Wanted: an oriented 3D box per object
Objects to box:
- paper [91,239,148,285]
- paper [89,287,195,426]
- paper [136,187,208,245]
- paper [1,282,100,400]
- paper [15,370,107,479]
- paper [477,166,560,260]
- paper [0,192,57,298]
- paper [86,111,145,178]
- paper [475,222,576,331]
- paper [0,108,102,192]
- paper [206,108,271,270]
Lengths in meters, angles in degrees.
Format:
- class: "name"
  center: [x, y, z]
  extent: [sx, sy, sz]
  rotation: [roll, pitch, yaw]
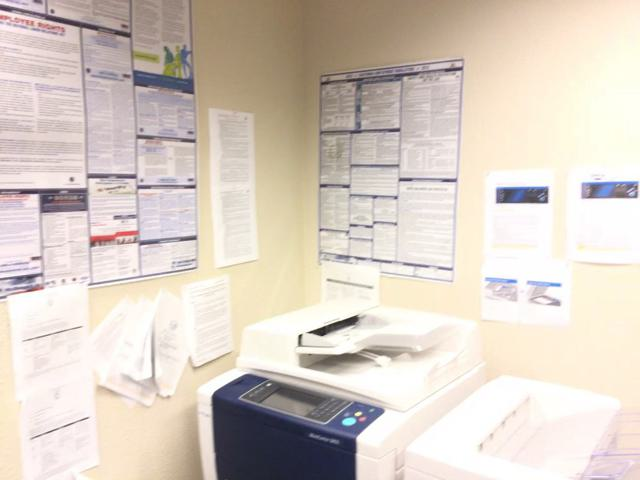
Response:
- class: "paper"
  center: [-0.580, 0.060, 1.680]
  extent: [0.030, 0.110, 0.160]
  rotation: [0, 7, 36]
- class: "paper"
  center: [-0.530, 0.340, 1.760]
  extent: [0.060, 0.340, 0.300]
  rotation: [0, 7, 36]
- class: "paper"
  center: [-0.460, -0.080, 1.820]
  extent: [0.030, 0.160, 0.240]
  rotation: [0, 7, 36]
- class: "paper"
  center: [-0.710, 0.260, 1.540]
  extent: [0.040, 0.260, 0.220]
  rotation: [0, 7, 36]
- class: "paper"
  center: [-0.700, 0.520, 1.580]
  extent: [0.040, 0.270, 0.210]
  rotation: [0, 7, 36]
- class: "paper"
  center: [0.620, -0.080, 1.810]
  extent: [0.230, 0.280, 0.050]
  rotation: [0, 7, 36]
- class: "paper"
  center: [-0.760, 0.010, 1.450]
  extent: [0.030, 0.250, 0.160]
  rotation: [0, 7, 36]
- class: "paper"
  center: [-0.580, -0.270, 1.650]
  extent: [0.020, 0.180, 0.160]
  rotation: [0, 7, 36]
- class: "paper"
  center: [0.640, 0.110, 1.810]
  extent: [0.280, 0.320, 0.060]
  rotation: [0, 7, 36]
- class: "paper"
  center: [-0.710, -0.230, 1.490]
  extent: [0.040, 0.200, 0.280]
  rotation: [0, 7, 36]
- class: "paper"
  center: [-0.280, -0.180, 2.030]
  extent: [0.030, 0.540, 0.230]
  rotation: [0, 7, 36]
